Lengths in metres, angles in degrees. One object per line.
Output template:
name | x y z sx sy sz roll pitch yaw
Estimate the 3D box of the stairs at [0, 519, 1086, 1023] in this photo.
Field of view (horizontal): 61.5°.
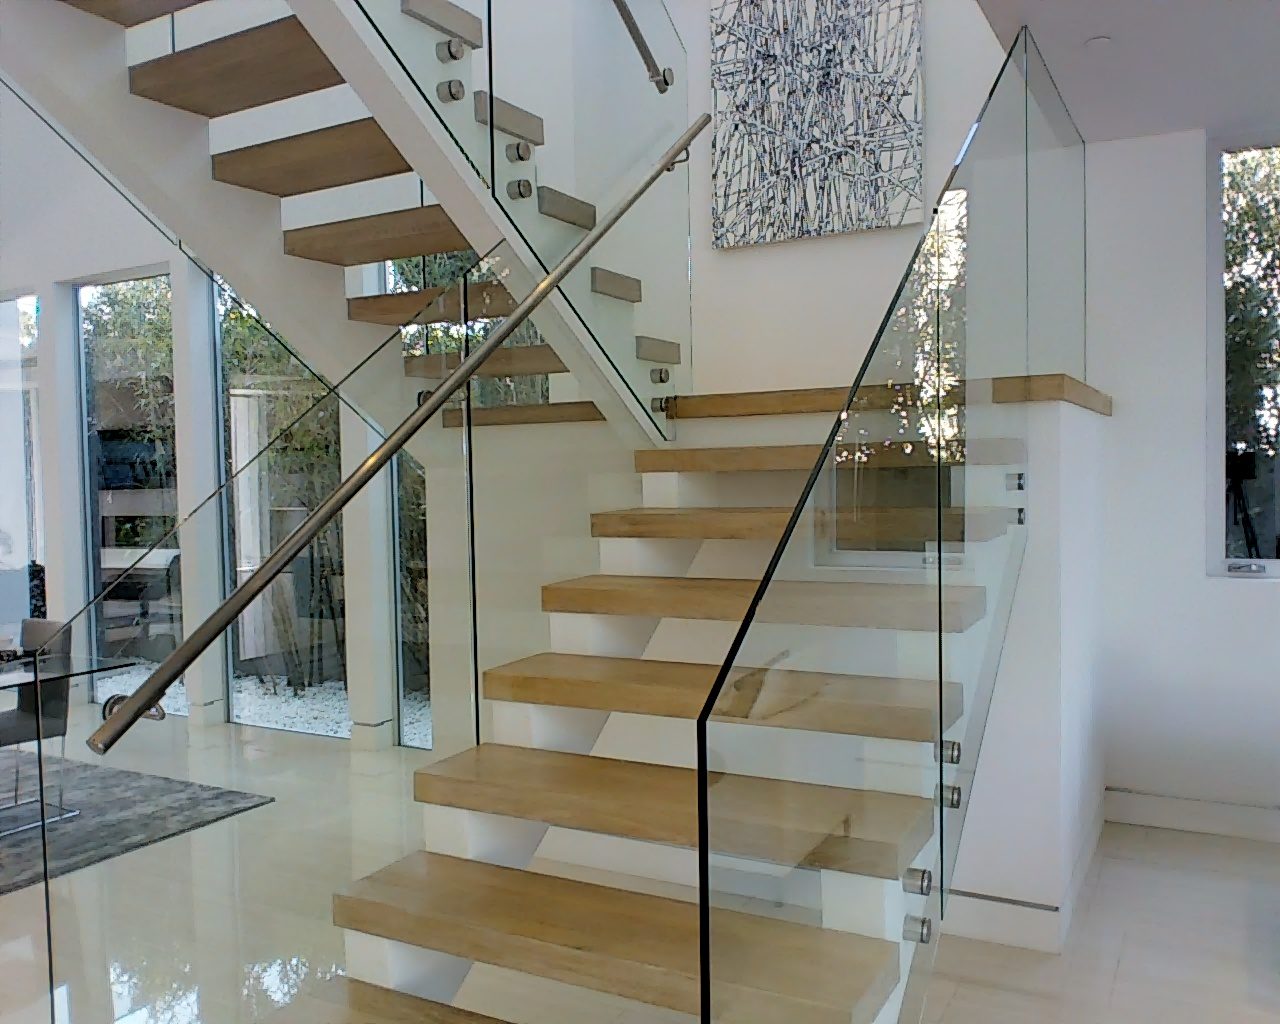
stairs | 0.160 0.670 2.620 1.420 0.430 2.800 37 19 22
